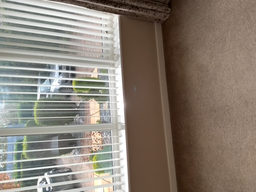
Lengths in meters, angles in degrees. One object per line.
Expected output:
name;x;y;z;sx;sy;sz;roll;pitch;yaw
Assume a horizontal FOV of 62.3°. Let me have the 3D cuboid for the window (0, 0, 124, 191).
window;-0.800;0.320;2.000;0.130;1.520;2.640;153;115;-61
